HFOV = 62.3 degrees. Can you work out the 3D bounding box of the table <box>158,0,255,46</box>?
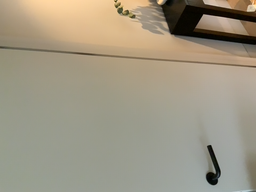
[{"bbox_3d":[0.670,-0.940,1.880,0.270,0.800,1.030,114,153,-52],"label":"table"}]
